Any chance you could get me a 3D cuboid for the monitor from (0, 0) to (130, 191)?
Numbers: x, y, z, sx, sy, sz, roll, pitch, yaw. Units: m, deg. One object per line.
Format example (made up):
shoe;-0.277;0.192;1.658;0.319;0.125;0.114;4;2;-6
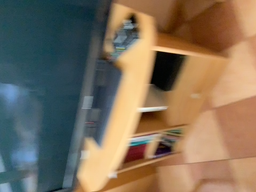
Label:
monitor;-0.370;0.050;0.820;0.100;0.670;1.010;28;113;46
